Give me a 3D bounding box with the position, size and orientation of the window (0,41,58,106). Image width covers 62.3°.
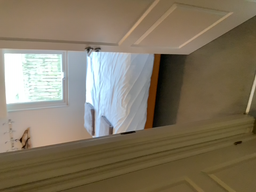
[{"bbox_3d":[-1.800,-0.400,3.810,0.140,1.020,1.090,33,123,55],"label":"window"}]
